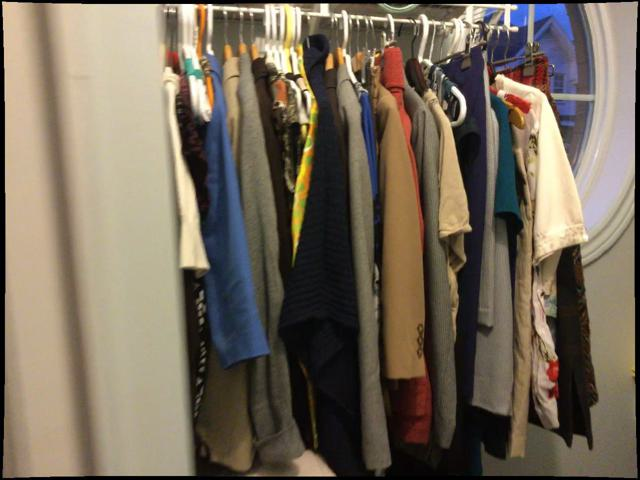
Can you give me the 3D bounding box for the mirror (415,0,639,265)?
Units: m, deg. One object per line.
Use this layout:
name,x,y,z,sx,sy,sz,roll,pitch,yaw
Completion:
mirror,0.639,-0.460,1.710,0.609,0.981,0.350,-3,10,-12
